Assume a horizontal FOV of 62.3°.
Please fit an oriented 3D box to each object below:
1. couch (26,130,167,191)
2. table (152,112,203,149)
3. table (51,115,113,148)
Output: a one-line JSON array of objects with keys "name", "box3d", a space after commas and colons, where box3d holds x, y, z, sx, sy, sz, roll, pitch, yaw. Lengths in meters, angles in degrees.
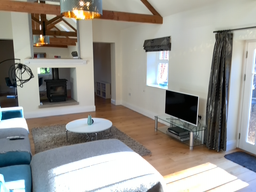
[{"name": "couch", "box3d": [-0.460, 0.920, 2.490, 1.250, 0.480, 1.320, -5, 12, -27]}, {"name": "table", "box3d": [0.960, 0.660, 4.290, 0.470, 0.400, 0.980, -5, 12, -27]}, {"name": "table", "box3d": [-0.870, 0.670, 4.240, 0.920, 0.310, 0.900, 3, 11, 12]}]
